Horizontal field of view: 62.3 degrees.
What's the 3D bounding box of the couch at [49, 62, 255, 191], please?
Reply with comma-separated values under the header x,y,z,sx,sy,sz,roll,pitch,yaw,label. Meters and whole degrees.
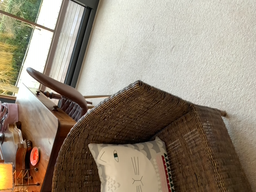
x,y,z,sx,sy,sz,roll,pitch,yaw,label
0.120,0.390,1.040,0.660,0.740,0.680,-36,55,38,couch
